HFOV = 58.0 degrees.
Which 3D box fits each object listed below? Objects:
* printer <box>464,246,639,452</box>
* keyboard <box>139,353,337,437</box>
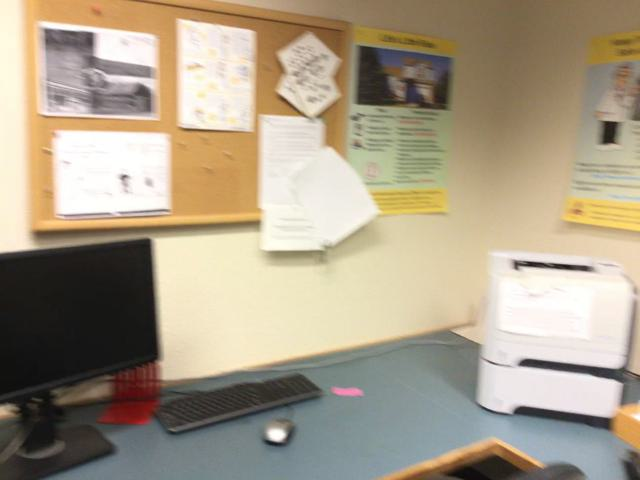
[{"bbox_3d":[0.640,0.260,1.620,0.410,0.400,0.480,3,8,18],"label":"printer"},{"bbox_3d":[-0.230,0.420,1.630,0.480,0.040,0.280,-5,9,-32],"label":"keyboard"}]
